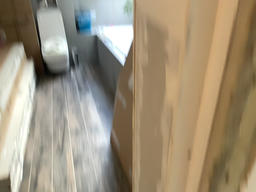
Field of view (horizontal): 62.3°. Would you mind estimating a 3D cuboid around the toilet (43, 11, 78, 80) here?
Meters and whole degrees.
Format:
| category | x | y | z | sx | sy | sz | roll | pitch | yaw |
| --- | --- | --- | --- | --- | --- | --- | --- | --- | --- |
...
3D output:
| category | x | y | z | sx | sy | sz | roll | pitch | yaw |
| --- | --- | --- | --- | --- | --- | --- | --- | --- | --- |
| toilet | -0.960 | -0.720 | 3.030 | 0.320 | 0.860 | 0.420 | -10 | 30 | -16 |
